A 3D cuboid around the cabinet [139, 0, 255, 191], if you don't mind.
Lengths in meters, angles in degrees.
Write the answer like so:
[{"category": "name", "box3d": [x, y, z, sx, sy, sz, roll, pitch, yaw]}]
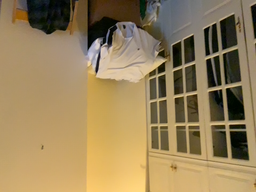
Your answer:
[{"category": "cabinet", "box3d": [0.900, -0.150, 1.700, 0.630, 2.230, 1.920, 4, 171, -30]}]
